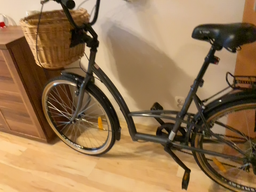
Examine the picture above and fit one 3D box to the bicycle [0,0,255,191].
[{"bbox_3d":[0.150,0.070,1.150,1.740,1.120,0.420,8,35,22],"label":"bicycle"}]
